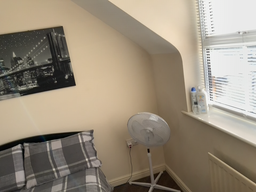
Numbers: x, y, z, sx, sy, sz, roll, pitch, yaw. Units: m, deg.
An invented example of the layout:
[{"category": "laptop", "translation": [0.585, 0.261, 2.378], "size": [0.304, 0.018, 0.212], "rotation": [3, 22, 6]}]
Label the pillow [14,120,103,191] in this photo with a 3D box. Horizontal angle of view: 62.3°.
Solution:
[{"category": "pillow", "translation": [-0.640, 0.580, 2.040], "size": [0.670, 0.430, 0.130], "rotation": [-30, 36, -6]}]

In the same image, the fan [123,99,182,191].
[{"category": "fan", "translation": [0.260, 0.570, 2.210], "size": [0.440, 0.950, 0.420], "rotation": [-8, 12, 4]}]
